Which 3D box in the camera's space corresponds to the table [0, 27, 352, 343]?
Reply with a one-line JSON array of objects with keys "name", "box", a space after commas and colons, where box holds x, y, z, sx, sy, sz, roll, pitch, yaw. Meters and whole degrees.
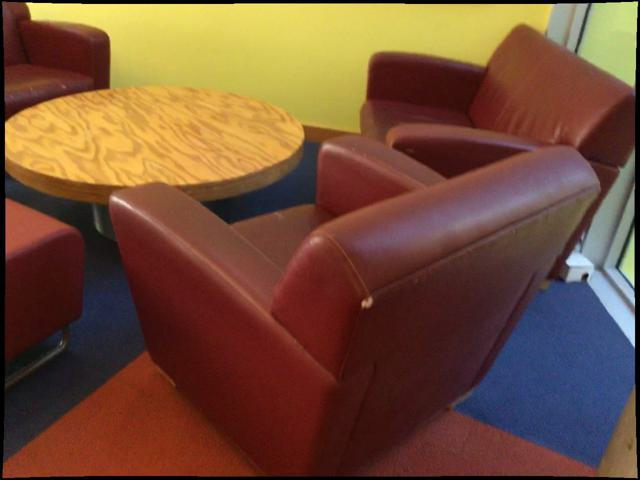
[{"name": "table", "box": [-0.639, -0.340, 2.520, 1.249, 0.440, 1.230, 16, 44, 7]}]
